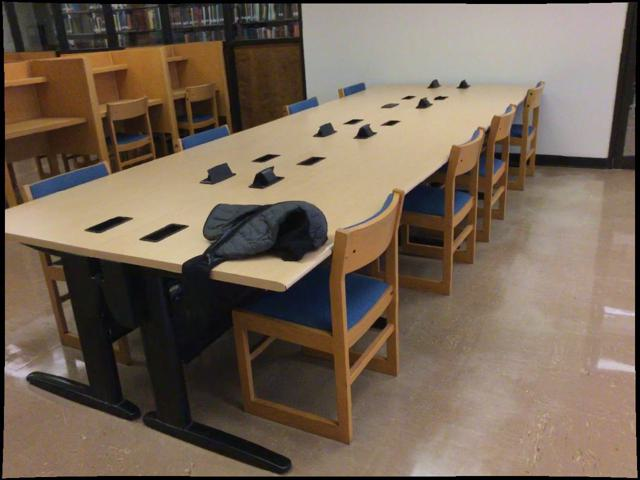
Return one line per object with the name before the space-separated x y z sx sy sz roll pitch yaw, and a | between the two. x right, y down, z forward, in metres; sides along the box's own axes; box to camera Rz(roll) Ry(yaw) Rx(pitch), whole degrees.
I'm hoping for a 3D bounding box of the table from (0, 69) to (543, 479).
table | 0.239 -0.401 3.750 1.707 0.812 4.249 7 25 26
